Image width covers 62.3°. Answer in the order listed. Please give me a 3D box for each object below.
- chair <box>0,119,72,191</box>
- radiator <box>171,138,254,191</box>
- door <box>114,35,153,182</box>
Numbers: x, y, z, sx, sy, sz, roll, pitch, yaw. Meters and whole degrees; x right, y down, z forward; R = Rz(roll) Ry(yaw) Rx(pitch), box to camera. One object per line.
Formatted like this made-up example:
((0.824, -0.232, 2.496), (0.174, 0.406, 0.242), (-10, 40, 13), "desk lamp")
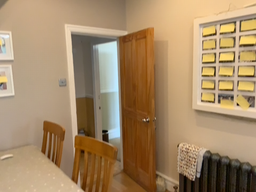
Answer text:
((-0.850, 0.800, 1.950), (0.510, 1.050, 0.390), (-9, 11, -41), "chair")
((0.810, 0.910, 2.180), (0.160, 0.750, 0.790), (-8, 11, -38), "radiator")
((0.050, 0.130, 2.840), (0.090, 1.730, 0.870), (-6, 10, -26), "door")
